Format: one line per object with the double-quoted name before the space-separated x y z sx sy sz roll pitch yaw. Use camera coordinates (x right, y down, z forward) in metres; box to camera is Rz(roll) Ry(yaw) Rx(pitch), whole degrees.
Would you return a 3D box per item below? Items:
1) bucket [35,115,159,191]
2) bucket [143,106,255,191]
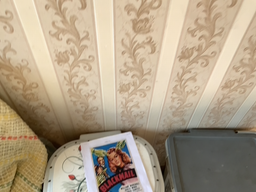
"bucket" -0.120 0.400 0.980 0.400 0.560 0.340 -3 50 -5
"bucket" 0.380 0.340 1.040 0.520 0.510 0.290 -5 50 -7
